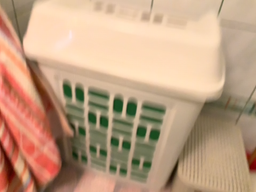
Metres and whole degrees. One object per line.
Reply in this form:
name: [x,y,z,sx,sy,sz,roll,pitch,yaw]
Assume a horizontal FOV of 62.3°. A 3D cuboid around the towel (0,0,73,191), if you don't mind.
towel: [-0.270,0.050,0.470,0.160,0.630,0.260,12,39,6]
